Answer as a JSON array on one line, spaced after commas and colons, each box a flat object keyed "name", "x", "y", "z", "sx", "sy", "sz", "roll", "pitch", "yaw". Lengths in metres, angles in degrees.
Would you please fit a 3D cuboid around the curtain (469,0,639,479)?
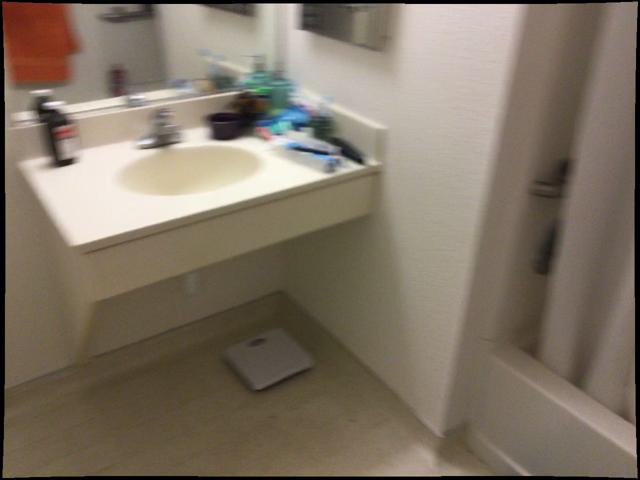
[{"name": "curtain", "x": 0.719, "y": -0.260, "z": 1.150, "sx": 0.260, "sy": 1.701, "sz": 0.530, "roll": -20, "pitch": 37, "yaw": -31}]
